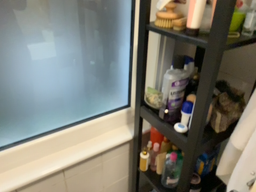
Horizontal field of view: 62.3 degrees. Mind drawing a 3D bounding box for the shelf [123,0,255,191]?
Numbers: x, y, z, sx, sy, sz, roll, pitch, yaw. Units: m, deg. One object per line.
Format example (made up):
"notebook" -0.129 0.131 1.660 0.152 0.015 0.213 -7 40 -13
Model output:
"shelf" 0.350 0.090 1.040 0.610 1.720 0.400 -19 37 -31
